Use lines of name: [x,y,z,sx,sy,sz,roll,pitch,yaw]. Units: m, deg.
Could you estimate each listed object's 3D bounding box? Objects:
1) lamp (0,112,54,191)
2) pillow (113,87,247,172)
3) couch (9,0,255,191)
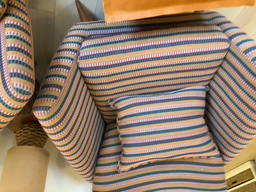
lamp: [-0.500,0.320,1.040,0.210,0.350,0.310,7,141,-18]
pillow: [0.190,0.120,0.990,0.480,0.400,0.150,-7,112,-6]
couch: [0.110,0.060,1.100,0.870,0.790,0.820,-5,143,-3]
